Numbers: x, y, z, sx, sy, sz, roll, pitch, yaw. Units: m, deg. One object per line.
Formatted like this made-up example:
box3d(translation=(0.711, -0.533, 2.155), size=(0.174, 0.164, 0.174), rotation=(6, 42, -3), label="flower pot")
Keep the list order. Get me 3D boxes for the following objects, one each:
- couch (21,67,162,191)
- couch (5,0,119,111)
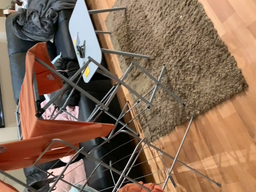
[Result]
box3d(translation=(-0.460, 0.550, 2.160), size=(0.830, 0.870, 1.430), rotation=(-47, 56, 45), label="couch")
box3d(translation=(-0.930, -0.700, 2.690), size=(0.940, 0.900, 1.440), rotation=(-47, 56, 45), label="couch")
